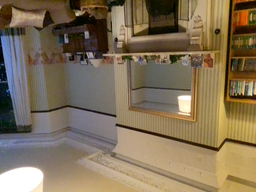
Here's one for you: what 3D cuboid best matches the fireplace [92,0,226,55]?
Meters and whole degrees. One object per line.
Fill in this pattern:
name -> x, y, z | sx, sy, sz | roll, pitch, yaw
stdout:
fireplace -> 0.430, -1.330, 3.370 | 1.880, 1.300, 0.910 | 8, -165, 36
